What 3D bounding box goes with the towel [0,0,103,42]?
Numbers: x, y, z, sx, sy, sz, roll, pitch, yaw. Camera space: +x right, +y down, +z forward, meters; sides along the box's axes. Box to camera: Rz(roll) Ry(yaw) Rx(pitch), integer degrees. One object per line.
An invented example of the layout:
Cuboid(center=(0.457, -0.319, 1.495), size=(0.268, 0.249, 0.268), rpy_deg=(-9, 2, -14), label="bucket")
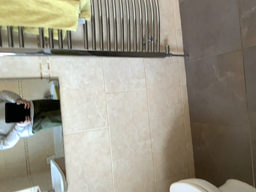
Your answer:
Cuboid(center=(-0.410, -0.450, 1.050), size=(0.140, 0.530, 0.300), rpy_deg=(-11, 85, 59), label="towel")
